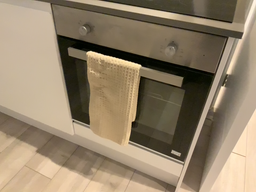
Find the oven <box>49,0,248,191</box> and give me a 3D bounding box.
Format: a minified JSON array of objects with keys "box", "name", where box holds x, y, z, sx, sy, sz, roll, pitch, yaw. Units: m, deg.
[{"box":[0.110,-0.060,1.110,0.620,0.910,0.570,18,42,17],"name":"oven"}]
